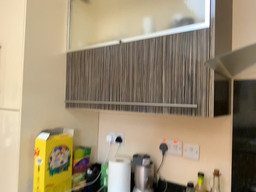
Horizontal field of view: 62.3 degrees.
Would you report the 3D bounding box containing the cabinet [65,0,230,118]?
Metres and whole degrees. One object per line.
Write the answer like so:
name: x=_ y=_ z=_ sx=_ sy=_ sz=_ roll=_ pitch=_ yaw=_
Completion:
cabinet: x=0.070 y=-0.260 z=1.220 sx=0.880 sy=0.700 sz=0.340 roll=0 pitch=-2 yaw=35
